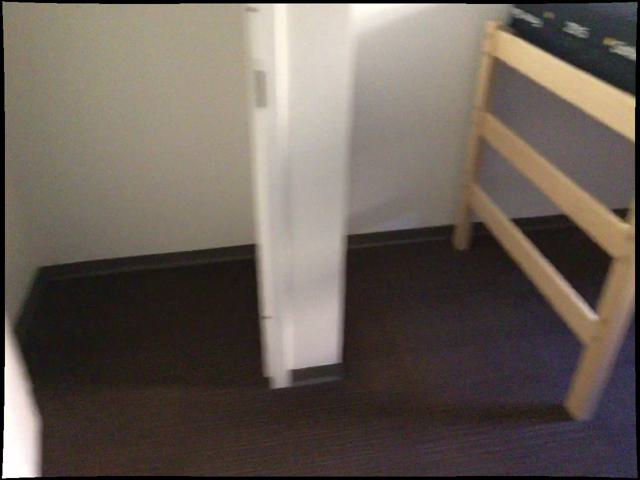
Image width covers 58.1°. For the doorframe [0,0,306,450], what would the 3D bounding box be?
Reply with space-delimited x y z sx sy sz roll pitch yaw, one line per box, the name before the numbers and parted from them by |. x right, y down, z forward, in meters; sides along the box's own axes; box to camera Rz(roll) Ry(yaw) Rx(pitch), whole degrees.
doorframe | -0.549 -0.271 1.370 0.948 1.813 0.260 -6 32 -8
